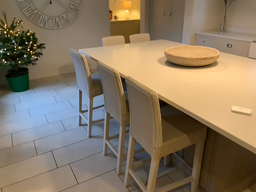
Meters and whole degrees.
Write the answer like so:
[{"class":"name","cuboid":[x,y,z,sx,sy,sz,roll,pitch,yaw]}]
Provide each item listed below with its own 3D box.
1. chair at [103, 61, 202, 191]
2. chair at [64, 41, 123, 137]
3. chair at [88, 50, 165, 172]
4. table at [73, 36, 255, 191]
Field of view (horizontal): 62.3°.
[{"class":"chair","cuboid":[0.160,0.290,1.650,0.520,0.980,0.430,-13,27,-25]},{"class":"chair","cuboid":[-0.390,-0.100,2.520,0.490,0.970,0.450,-13,27,-25]},{"class":"chair","cuboid":[-0.020,0.120,2.020,0.520,0.980,0.430,-13,27,-25]},{"class":"table","cuboid":[0.460,0.040,2.270,1.360,0.910,2.290,-14,28,-26]}]
